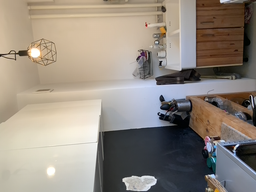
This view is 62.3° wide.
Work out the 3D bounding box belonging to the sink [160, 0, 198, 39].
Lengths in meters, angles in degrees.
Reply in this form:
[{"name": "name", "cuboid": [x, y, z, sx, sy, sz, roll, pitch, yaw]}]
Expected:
[{"name": "sink", "cuboid": [0.570, -0.930, 2.510, 0.780, 0.180, 0.400, -126, 33, -78]}]
